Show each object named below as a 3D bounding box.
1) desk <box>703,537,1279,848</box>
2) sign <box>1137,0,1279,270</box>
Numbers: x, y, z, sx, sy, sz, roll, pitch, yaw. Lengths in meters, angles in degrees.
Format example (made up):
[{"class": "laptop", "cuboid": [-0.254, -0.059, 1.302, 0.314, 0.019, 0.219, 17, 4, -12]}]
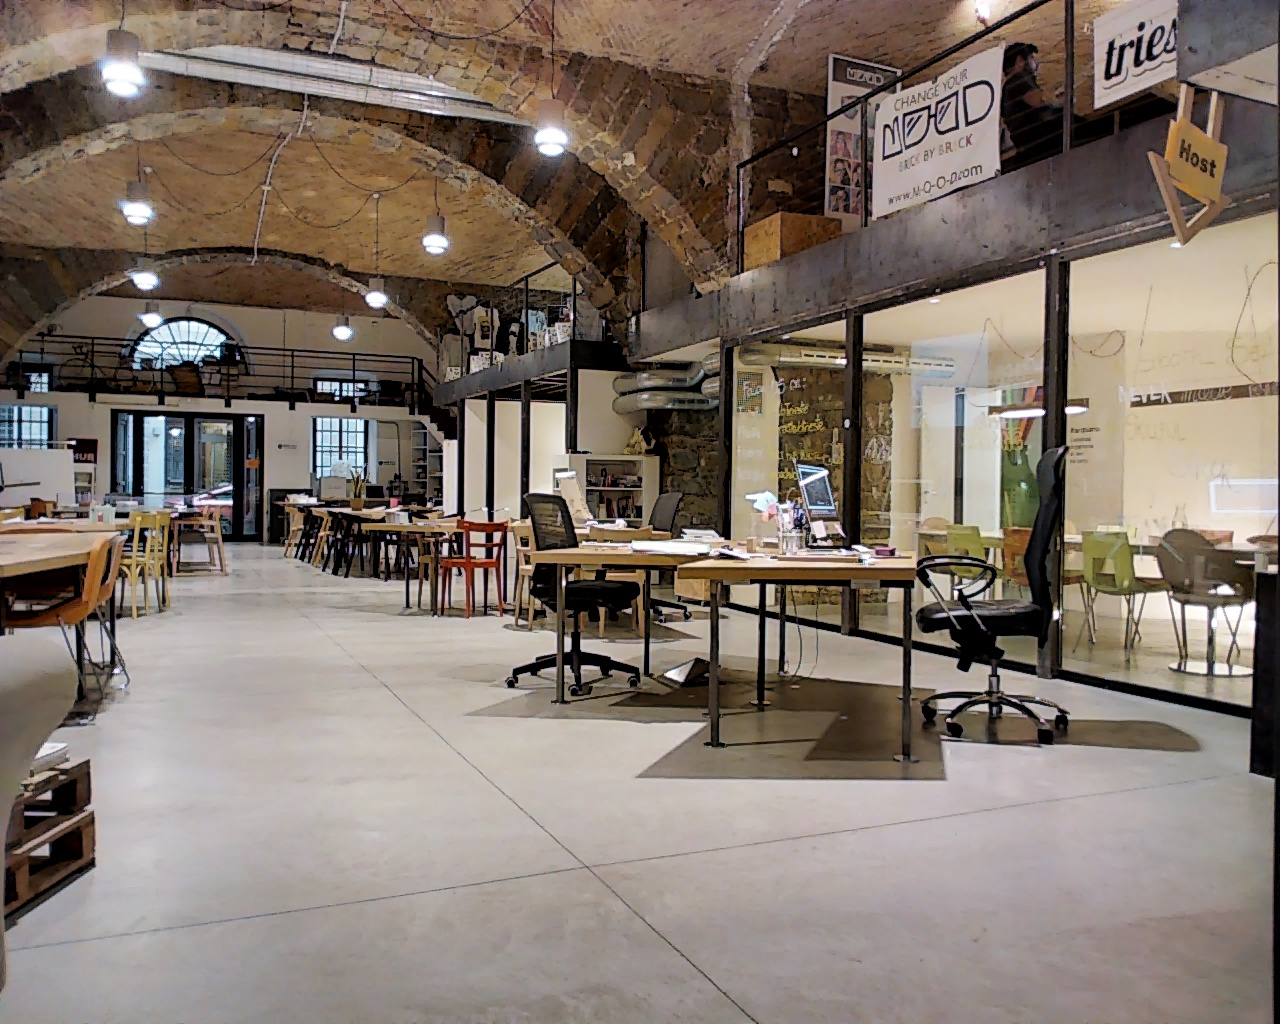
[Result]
[{"class": "desk", "cuboid": [1.849, 0.550, 4.300, 2.600, 0.770, 1.850, 2, 1, 43]}, {"class": "sign", "cuboid": [2.319, -1.370, 3.980, 1.160, 0.890, 0.130, 0, 1, -24]}]
